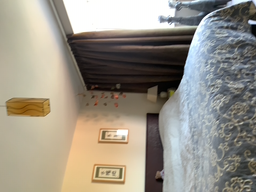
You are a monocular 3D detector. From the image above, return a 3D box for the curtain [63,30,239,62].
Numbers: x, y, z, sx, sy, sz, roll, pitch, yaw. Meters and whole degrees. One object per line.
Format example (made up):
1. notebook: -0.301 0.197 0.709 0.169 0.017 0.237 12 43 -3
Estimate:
1. curtain: 0.290 -0.730 3.110 0.430 2.370 0.190 81 -168 -67
